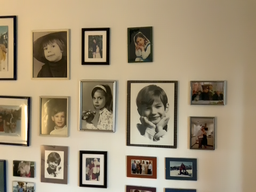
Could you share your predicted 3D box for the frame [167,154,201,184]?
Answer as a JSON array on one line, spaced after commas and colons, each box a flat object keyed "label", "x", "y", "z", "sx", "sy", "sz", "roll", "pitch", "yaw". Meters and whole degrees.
[{"label": "frame", "x": 0.330, "y": 0.430, "z": 1.250, "sx": 0.190, "sy": 0.150, "sz": 0.030, "roll": 1, "pitch": 1, "yaw": 11}]

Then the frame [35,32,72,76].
[{"label": "frame", "x": -0.470, "y": -0.260, "z": 1.330, "sx": 0.230, "sy": 0.270, "sz": 0.030, "roll": 1, "pitch": 1, "yaw": 9}]
